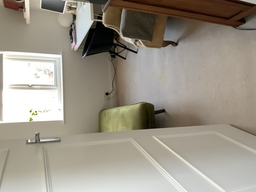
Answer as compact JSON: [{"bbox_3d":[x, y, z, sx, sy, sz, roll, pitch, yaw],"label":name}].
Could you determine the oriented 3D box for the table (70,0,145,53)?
[{"bbox_3d":[-0.380,-1.170,3.190,1.210,0.740,0.640,167,102,-65],"label":"table"}]

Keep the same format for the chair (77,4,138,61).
[{"bbox_3d":[-0.320,-0.870,3.090,0.600,0.710,0.550,169,100,-65],"label":"chair"}]
